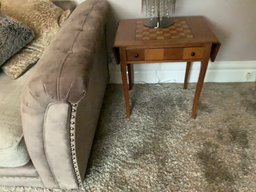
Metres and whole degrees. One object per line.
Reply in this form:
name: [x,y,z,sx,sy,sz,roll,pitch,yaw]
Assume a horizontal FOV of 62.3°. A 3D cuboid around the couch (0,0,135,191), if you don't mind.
couch: [-0.860,-0.070,1.270,1.750,0.730,1.100,0,37,4]
